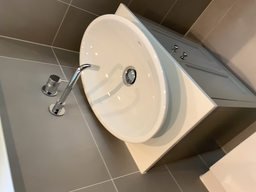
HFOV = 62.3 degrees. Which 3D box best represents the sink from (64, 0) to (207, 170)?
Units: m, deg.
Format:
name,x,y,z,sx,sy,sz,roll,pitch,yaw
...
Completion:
name,x,y,z,sx,sy,sz,roll,pitch,yaw
sink,-0.040,-0.080,0.840,0.380,0.100,0.590,-52,54,29
